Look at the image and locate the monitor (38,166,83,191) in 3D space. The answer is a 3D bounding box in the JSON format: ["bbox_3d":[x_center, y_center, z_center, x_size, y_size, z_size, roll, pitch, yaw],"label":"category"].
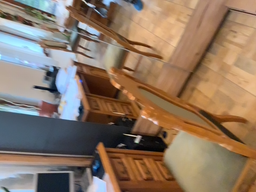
[{"bbox_3d":[-0.530,0.770,1.650,0.040,0.320,0.400,124,153,-42],"label":"monitor"}]
